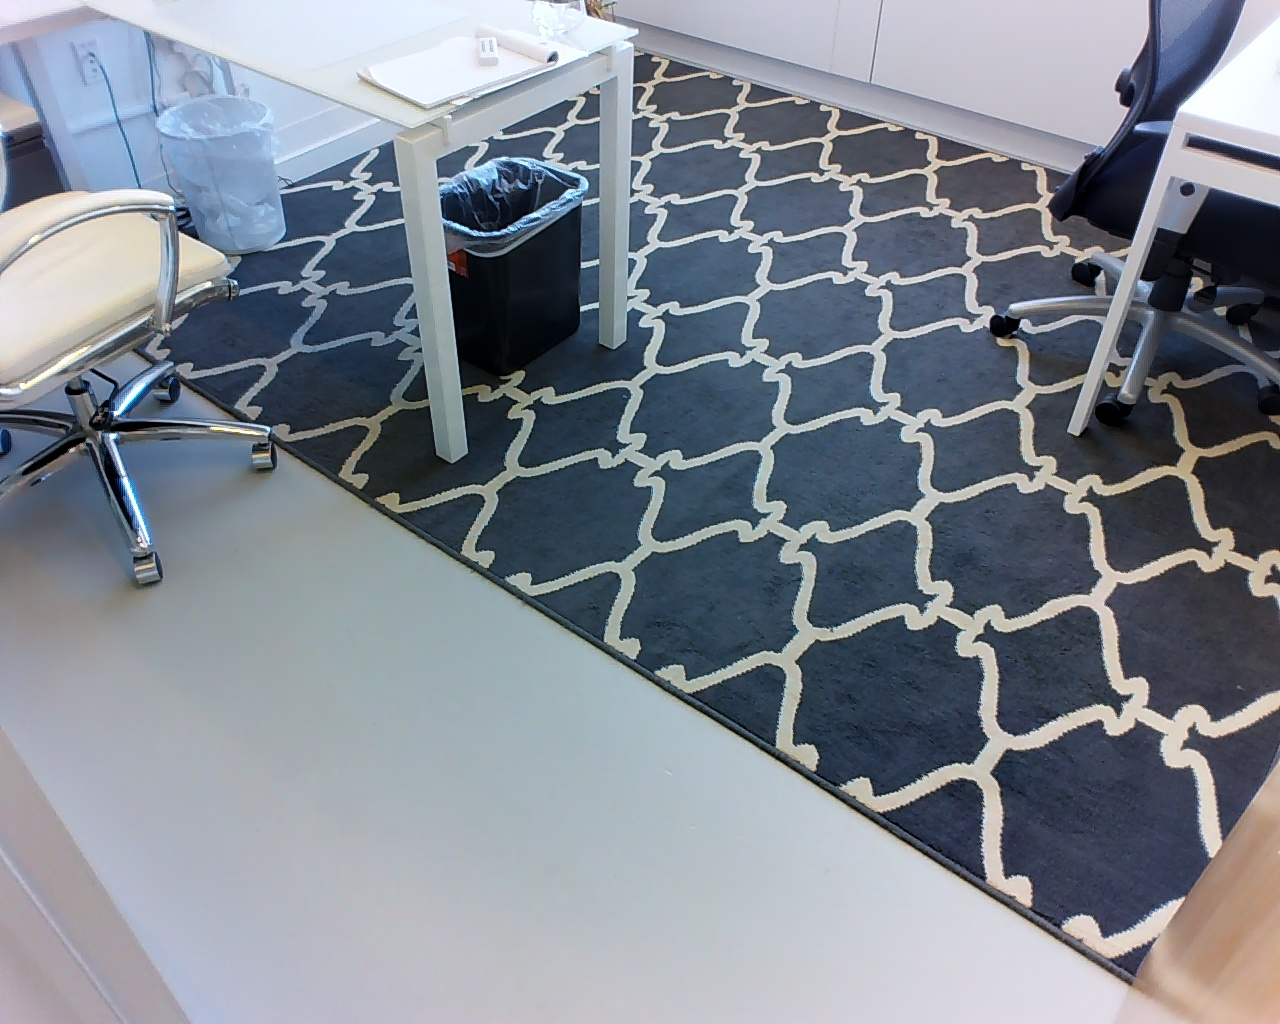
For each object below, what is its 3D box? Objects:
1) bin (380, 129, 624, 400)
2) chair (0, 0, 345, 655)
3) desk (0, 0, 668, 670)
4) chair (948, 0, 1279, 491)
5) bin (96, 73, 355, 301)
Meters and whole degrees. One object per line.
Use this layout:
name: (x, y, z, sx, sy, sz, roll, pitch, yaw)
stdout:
bin: (-0.310, -0.600, 2.560, 0.350, 0.420, 0.420, 28, 49, 28)
chair: (-1.130, -0.460, 1.940, 0.700, 1.050, 0.690, 28, 49, 28)
desk: (-0.990, -0.700, 2.400, 1.600, 0.790, 1.350, 28, 49, 28)
chair: (1.280, -0.760, 2.290, 0.790, 1.010, 0.710, 28, 49, 28)
bin: (-1.120, -0.900, 2.930, 0.490, 0.370, 0.390, 31, 50, 30)
